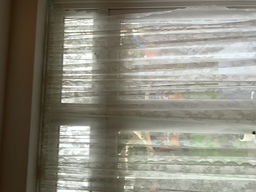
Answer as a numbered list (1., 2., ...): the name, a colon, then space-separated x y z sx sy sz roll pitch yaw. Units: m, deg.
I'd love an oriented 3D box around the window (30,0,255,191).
1. window: 0.660 0.110 1.320 0.080 2.510 1.580 64 -153 -82
